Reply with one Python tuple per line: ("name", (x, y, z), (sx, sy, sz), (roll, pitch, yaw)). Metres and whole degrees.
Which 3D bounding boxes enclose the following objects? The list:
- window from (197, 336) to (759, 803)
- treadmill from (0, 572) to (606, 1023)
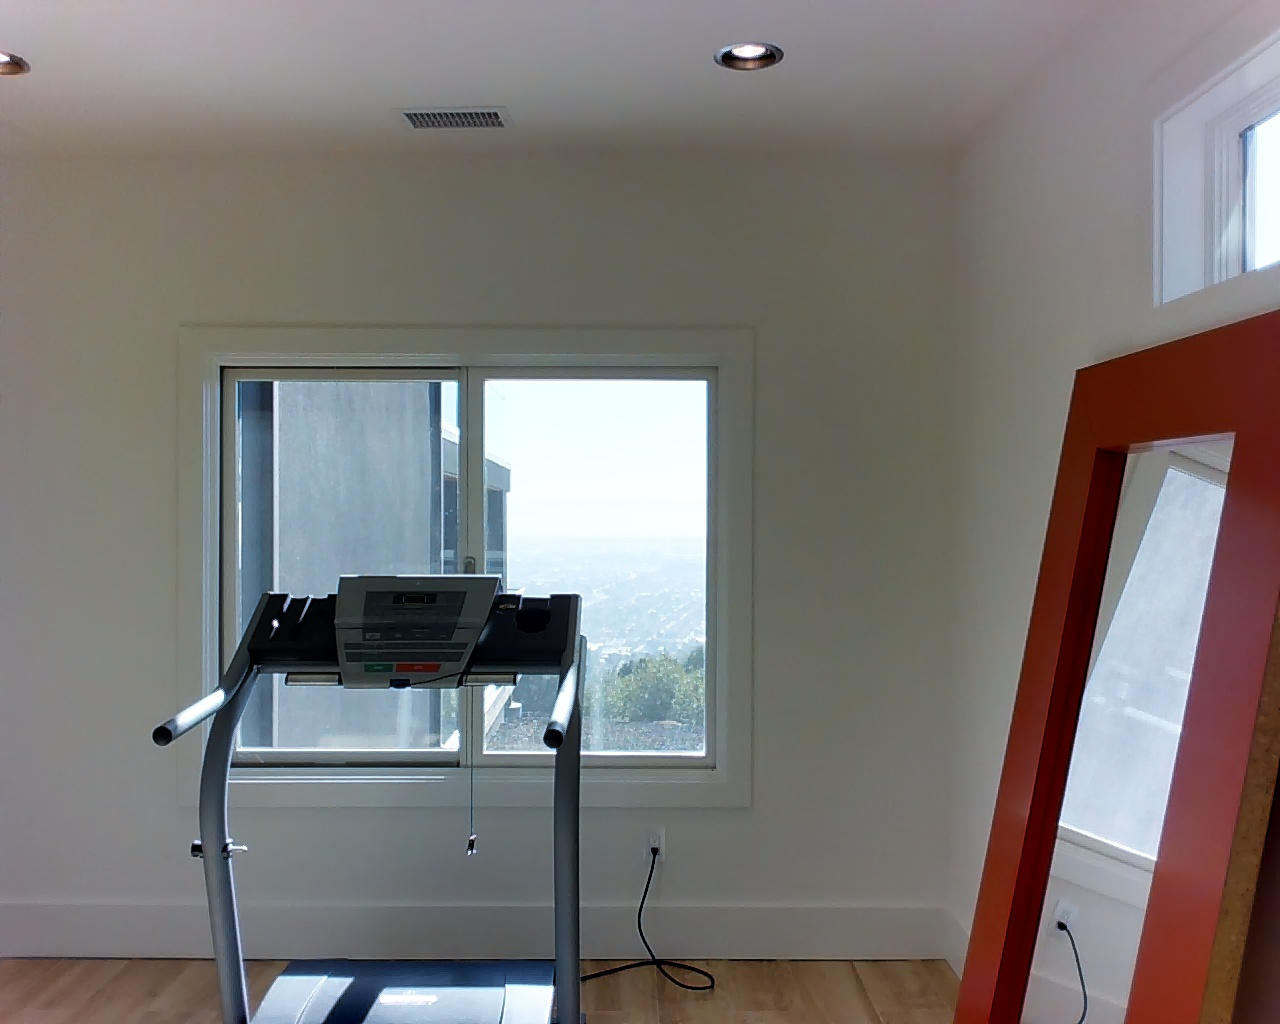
("window", (-0.560, 0.200, 3.770), (1.940, 1.610, 0.130), (0, 0, 0))
("treadmill", (-0.610, 0.860, 2.270), (1.010, 1.360, 1.870), (0, 0, 0))
